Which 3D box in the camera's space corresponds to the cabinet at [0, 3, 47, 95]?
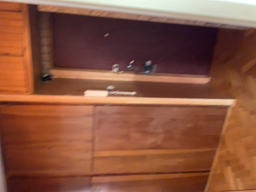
[{"bbox_3d":[-1.070,-0.490,2.110,0.610,0.360,0.780,-113,27,-67],"label":"cabinet"}]
